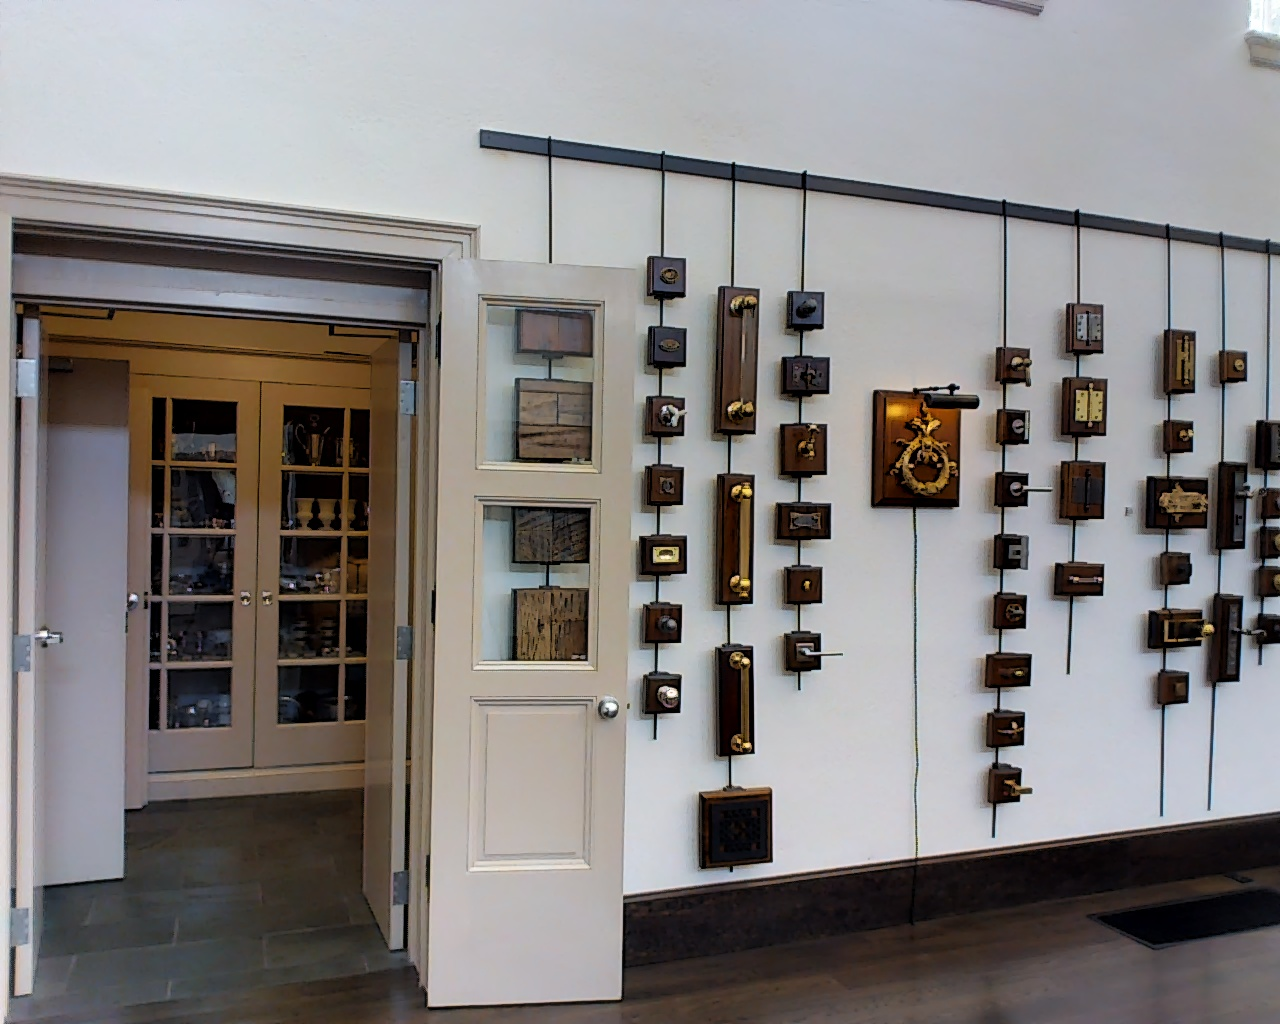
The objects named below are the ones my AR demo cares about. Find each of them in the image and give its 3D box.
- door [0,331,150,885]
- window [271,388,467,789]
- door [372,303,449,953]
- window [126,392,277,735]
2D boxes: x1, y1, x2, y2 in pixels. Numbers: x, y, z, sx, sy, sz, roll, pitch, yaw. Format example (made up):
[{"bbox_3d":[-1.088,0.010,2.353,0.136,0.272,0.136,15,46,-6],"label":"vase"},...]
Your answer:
[{"bbox_3d":[-2.360,0.380,4.330,0.670,2.180,0.090,1,0,-22],"label":"door"},{"bbox_3d":[-1.550,0.420,6.150,1.040,2.180,0.280,1,0,-21],"label":"window"},{"bbox_3d":[-0.860,0.390,3.970,0.150,2.190,0.710,1,0,-21],"label":"door"},{"bbox_3d":[-2.320,0.270,5.700,0.720,1.770,0.080,1,0,-21],"label":"window"}]
